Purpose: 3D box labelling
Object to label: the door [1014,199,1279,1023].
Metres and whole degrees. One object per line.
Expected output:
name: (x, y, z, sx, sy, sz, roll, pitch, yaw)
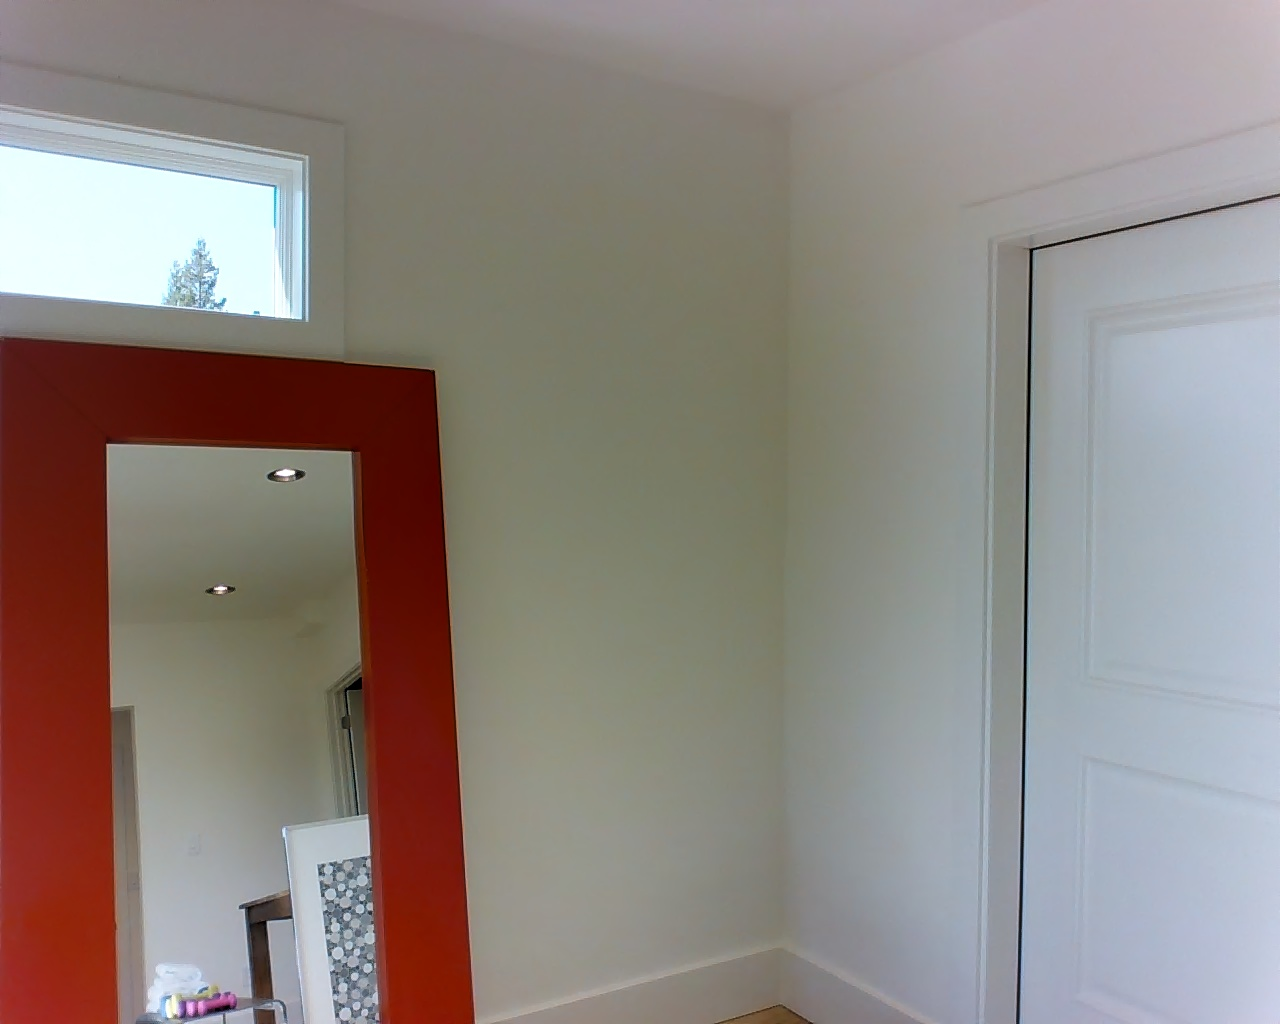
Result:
door: (1.230, 0.410, 2.380, 0.050, 2.110, 0.890, 0, 1, -32)
